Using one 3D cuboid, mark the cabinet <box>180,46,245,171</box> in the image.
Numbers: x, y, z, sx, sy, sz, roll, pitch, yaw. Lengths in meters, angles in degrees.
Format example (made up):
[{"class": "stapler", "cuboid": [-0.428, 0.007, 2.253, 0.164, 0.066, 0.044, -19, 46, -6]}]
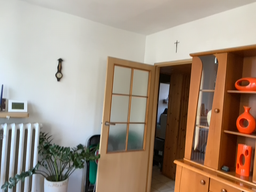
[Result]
[{"class": "cabinet", "cuboid": [0.870, 0.120, 2.210, 0.340, 1.150, 0.420, 6, -1, -34]}]
